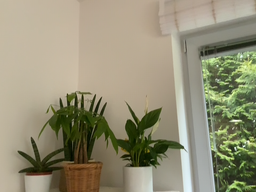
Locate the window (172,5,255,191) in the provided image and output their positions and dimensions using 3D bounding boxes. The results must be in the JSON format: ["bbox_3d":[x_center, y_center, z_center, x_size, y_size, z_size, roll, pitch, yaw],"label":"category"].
[{"bbox_3d":[0.770,0.240,1.140,0.920,1.510,0.210,-7,-14,24],"label":"window"}]
